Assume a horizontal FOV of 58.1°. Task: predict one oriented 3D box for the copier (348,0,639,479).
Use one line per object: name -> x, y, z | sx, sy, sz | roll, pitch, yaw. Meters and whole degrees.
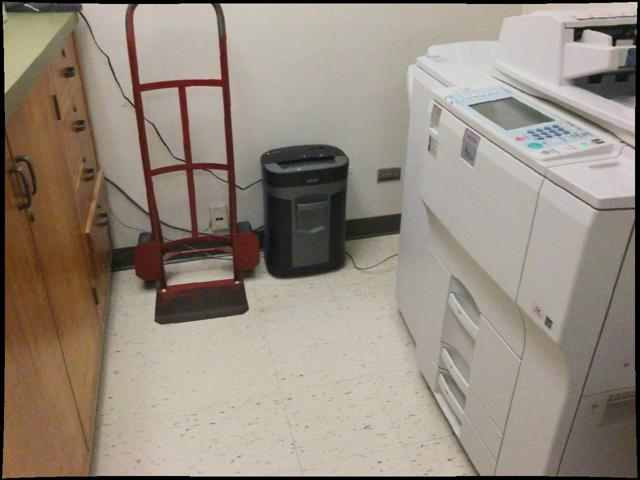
copier -> 0.688, -0.060, 1.700 | 0.838, 1.192, 1.260 | -7, 30, -13
